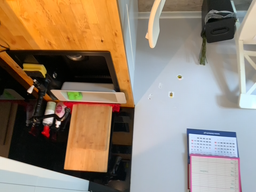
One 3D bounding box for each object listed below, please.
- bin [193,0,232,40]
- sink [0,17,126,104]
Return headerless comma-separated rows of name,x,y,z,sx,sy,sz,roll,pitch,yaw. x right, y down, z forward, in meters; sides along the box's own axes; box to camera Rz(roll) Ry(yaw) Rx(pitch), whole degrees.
bin,0.650,-0.680,1.680,0.190,0.360,0.270,1,155,6
sink,-0.310,-0.170,1.270,0.540,0.200,0.590,2,155,4
